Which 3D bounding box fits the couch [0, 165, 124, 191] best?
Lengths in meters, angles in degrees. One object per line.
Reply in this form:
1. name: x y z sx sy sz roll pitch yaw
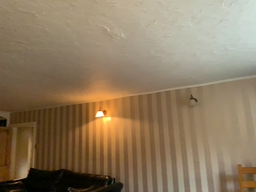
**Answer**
1. couch: -1.340 1.790 3.770 2.280 0.880 1.160 -8 -13 26
